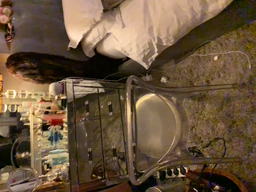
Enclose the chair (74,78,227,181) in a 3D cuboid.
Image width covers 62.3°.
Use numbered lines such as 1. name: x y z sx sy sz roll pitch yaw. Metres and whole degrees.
1. chair: 0.150 0.170 1.230 0.400 0.810 0.400 -11 78 52
